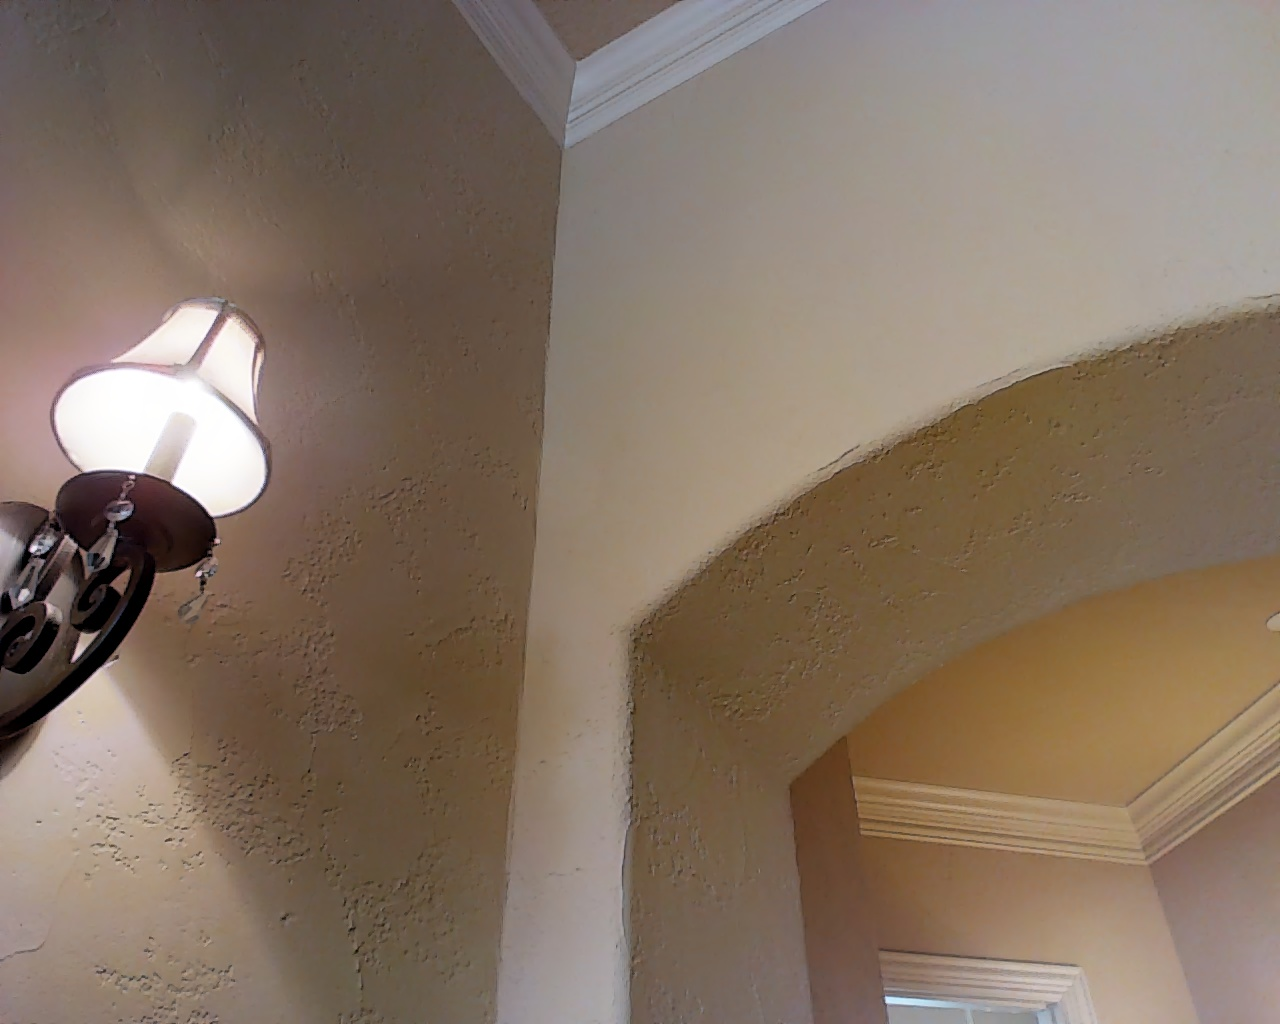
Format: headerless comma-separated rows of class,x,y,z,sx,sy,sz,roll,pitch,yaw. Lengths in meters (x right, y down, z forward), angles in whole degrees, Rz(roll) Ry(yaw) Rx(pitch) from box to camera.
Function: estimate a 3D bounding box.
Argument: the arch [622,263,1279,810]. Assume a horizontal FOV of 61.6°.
arch,0.570,0.050,1.320,1.070,0.180,0.520,-22,-46,22
